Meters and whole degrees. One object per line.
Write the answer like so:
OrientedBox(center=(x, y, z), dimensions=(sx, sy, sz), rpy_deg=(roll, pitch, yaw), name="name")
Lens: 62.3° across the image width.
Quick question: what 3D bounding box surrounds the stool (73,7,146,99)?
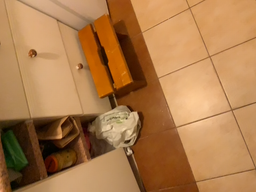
OrientedBox(center=(-0.100, -0.220, 1.220), dimensions=(0.200, 0.270, 0.430), rpy_deg=(-22, 79, 21), name="stool")
